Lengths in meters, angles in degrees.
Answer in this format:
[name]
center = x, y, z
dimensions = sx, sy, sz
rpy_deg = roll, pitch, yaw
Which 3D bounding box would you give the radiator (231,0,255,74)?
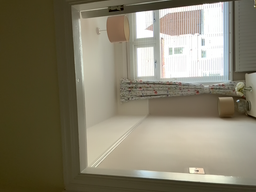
[radiator]
center = 1.850, -0.980, 3.030
dimensions = 0.170, 0.660, 1.280
rpy_deg = -12, -79, -76

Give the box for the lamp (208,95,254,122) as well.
[lamp]
center = 1.440, 0.170, 3.020
dimensions = 0.390, 0.510, 0.360
rpy_deg = 0, -92, -76

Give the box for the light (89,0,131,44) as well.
[light]
center = -0.240, -0.970, 2.830
dimensions = 0.340, 0.430, 0.440
rpy_deg = -3, -88, -61
